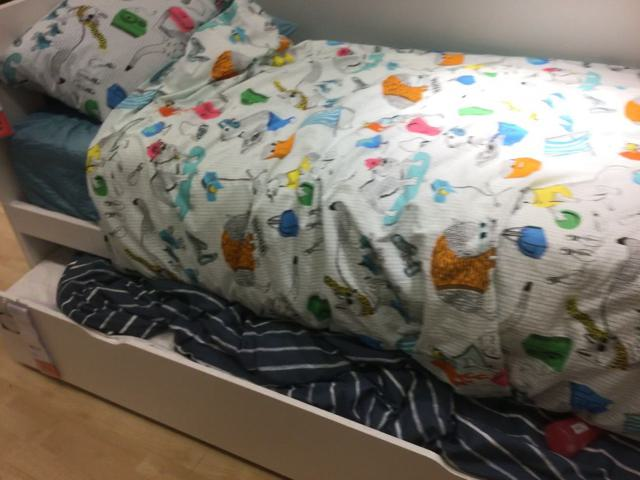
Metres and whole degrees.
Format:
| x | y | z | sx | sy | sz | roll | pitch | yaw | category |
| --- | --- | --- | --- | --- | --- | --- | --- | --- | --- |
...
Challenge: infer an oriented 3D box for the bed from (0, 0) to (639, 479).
| x | y | z | sx | sy | sz | roll | pitch | yaw | category |
| --- | --- | --- | --- | --- | --- | --- | --- | --- | --- |
| 0.170 | -0.120 | 1.590 | 2.190 | 1.000 | 1.400 | 12 | 42 | 22 | bed |
